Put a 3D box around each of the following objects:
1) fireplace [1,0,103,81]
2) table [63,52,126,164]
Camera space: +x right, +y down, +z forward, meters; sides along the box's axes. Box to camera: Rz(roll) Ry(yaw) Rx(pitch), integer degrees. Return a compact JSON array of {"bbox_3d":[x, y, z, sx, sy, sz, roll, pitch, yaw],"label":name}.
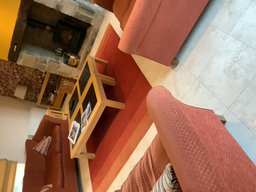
[{"bbox_3d":[-1.880,-1.620,5.260,1.840,1.730,1.060,-61,32,23],"label":"fireplace"},{"bbox_3d":[-0.700,0.160,3.710,1.250,0.430,1.480,-59,32,26],"label":"table"}]
